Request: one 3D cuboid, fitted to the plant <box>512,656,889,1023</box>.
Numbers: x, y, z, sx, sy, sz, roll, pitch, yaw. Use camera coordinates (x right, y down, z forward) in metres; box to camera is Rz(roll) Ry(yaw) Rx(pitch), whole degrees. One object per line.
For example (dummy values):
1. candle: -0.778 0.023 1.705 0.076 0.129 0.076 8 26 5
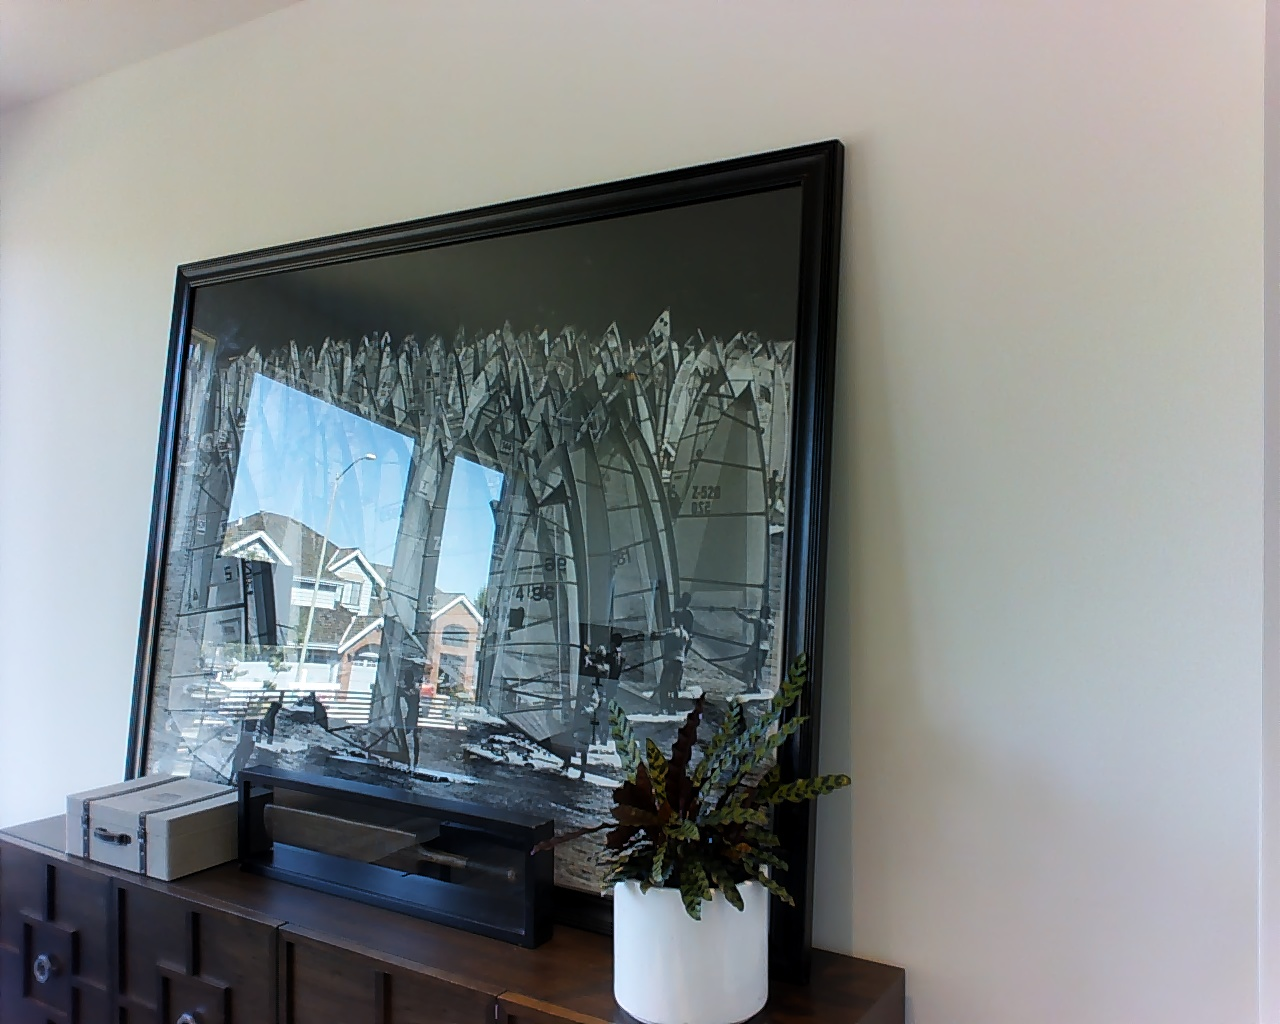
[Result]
1. plant: 0.120 0.590 1.980 0.540 0.560 0.450 0 0 31
